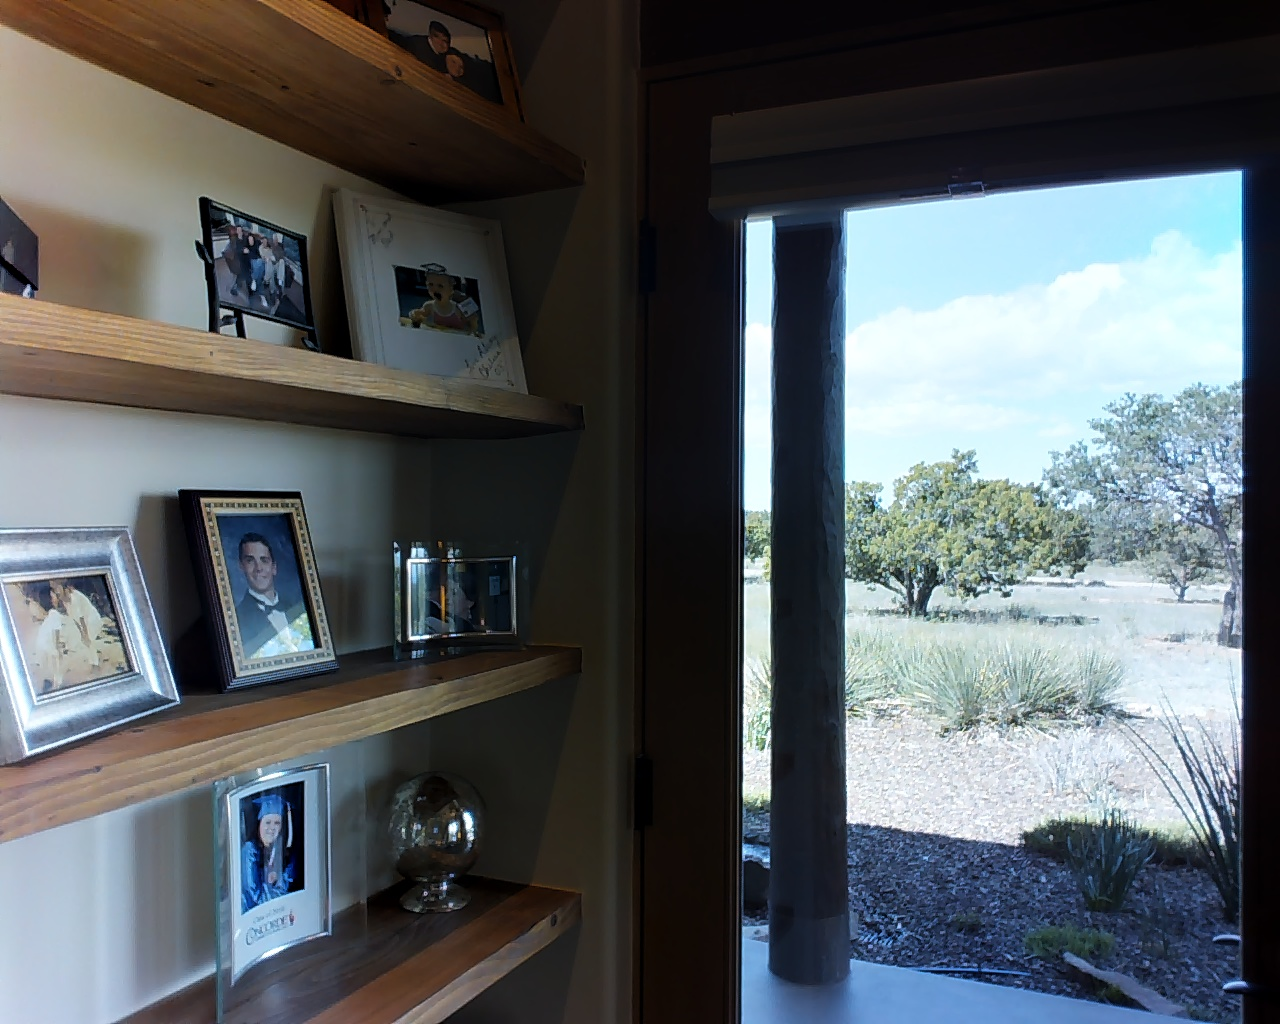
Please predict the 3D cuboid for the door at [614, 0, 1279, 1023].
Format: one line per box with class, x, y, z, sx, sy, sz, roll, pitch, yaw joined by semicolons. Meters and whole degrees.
door;0.460;0.300;1.300;1.010;2.241;0.150;0;0;24
